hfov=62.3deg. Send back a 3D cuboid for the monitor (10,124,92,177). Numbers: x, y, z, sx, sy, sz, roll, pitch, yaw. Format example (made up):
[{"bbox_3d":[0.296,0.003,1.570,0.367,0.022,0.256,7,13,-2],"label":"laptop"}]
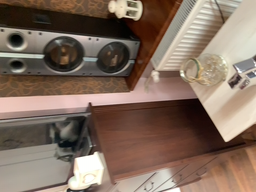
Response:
[{"bbox_3d":[-0.490,0.350,1.330,0.510,0.420,0.040,-62,41,44],"label":"monitor"}]
